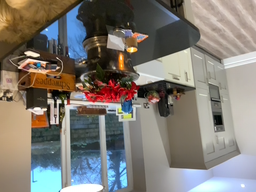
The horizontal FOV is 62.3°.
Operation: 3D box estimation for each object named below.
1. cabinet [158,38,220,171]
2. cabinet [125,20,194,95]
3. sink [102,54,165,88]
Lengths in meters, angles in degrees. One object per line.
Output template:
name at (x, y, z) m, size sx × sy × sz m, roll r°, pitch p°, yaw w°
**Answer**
cabinet at (1.100, 0.150, 3.920) m, size 0.650 × 2.210 × 0.590 m, roll -12°, pitch 169°, yaw 40°
cabinet at (0.530, -0.540, 3.440) m, size 0.610 × 0.900 × 0.960 m, roll -12°, pitch 169°, yaw 40°
sink at (0.080, -0.300, 2.770) m, size 0.540 × 0.230 × 0.610 m, roll -12°, pitch 169°, yaw 40°
